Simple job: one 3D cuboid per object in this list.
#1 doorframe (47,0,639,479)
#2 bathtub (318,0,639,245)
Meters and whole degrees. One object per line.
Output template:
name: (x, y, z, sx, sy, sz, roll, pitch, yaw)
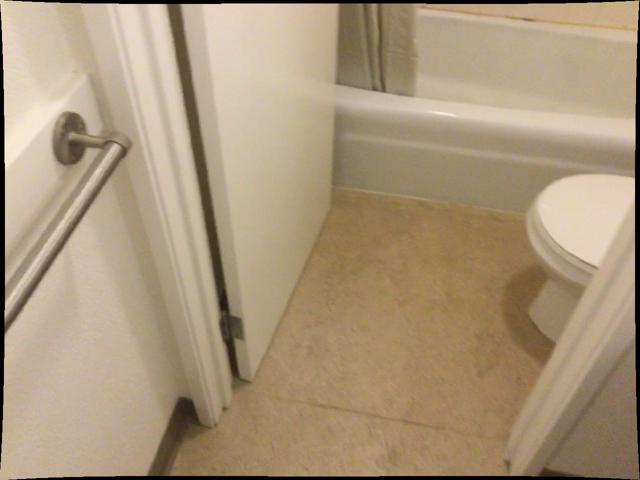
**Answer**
doorframe: (0.100, -0.050, 0.950, 0.849, 1.461, 0.180, 9, 47, 6)
bathtub: (0.699, -0.481, 2.090, 1.288, 0.480, 0.741, 8, 47, 6)
